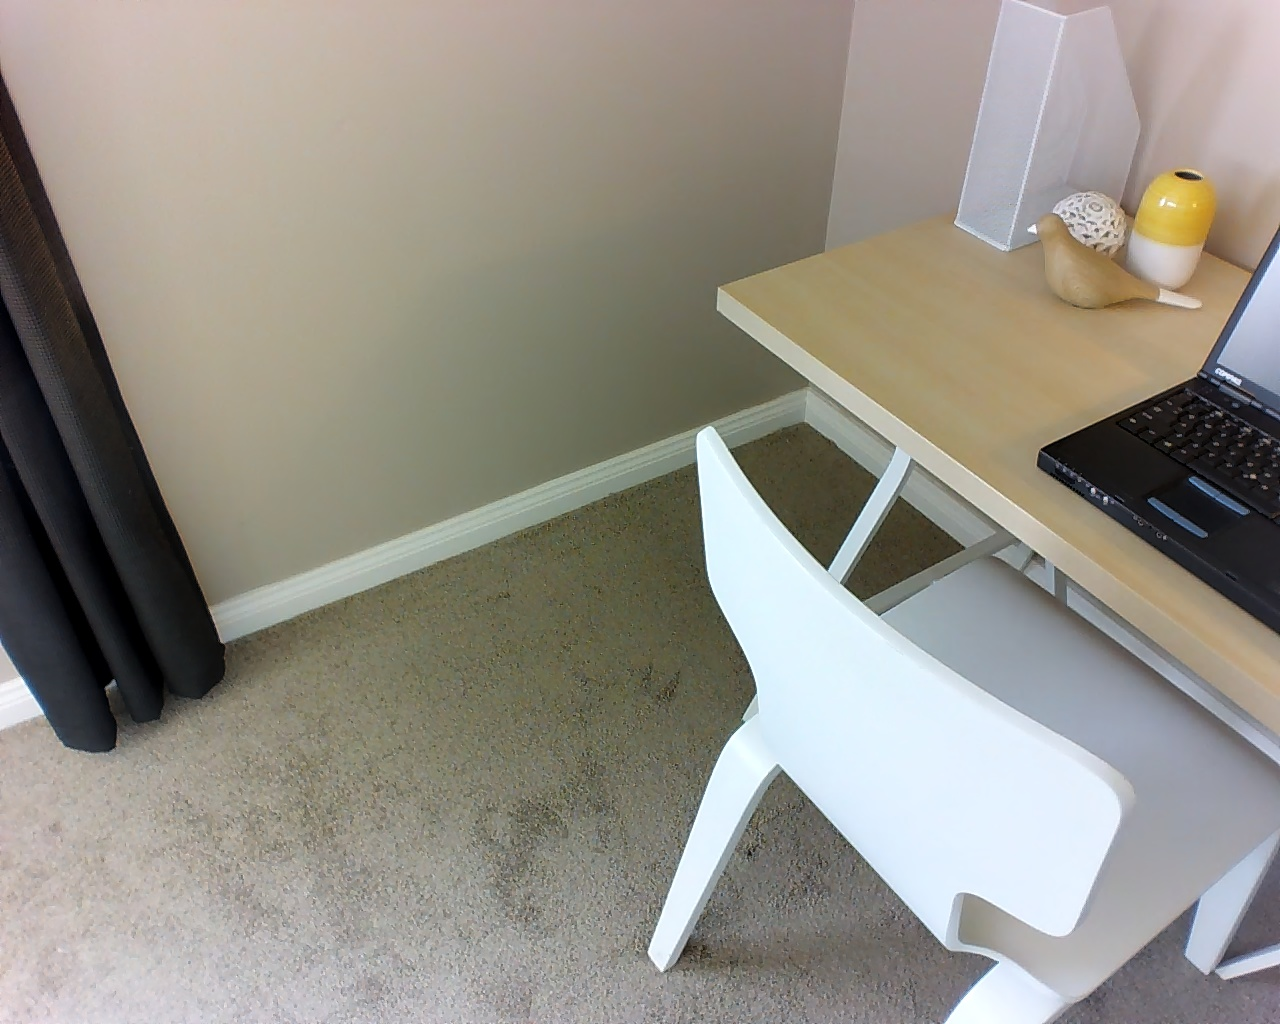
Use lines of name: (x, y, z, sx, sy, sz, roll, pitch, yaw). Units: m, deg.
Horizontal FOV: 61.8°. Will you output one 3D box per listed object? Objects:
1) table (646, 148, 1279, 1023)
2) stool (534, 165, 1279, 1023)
table: (0.640, 0.200, 1.300, 0.670, 0.740, 1.290, -22, 45, -24)
stool: (0.400, 0.260, 1.130, 0.770, 0.910, 0.620, -20, 44, -22)
